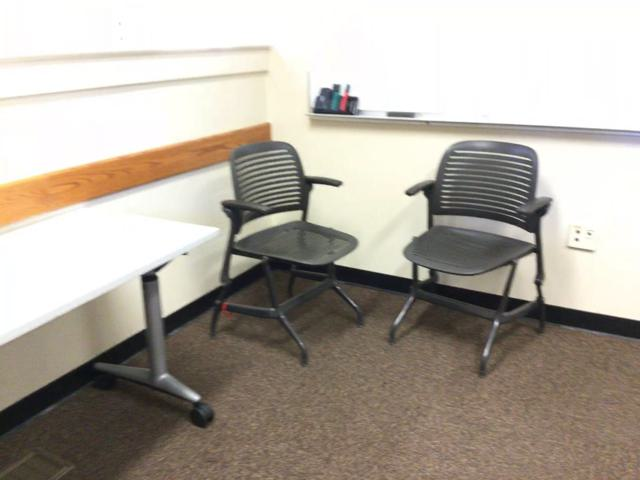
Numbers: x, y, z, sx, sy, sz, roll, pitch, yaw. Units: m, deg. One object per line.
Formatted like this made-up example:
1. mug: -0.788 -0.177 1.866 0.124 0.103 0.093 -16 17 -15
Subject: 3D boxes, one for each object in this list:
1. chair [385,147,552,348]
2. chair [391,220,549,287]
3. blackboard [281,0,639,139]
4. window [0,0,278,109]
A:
1. chair: 0.630 0.000 2.430 0.570 0.720 0.370 5 19 30
2. chair: 0.640 0.040 2.430 0.520 0.090 0.500 5 19 30
3. blackboard: 0.870 -1.040 2.200 2.350 1.240 0.170 5 19 30
4. window: -0.930 -0.660 2.010 0.200 0.350 2.420 5 19 30
